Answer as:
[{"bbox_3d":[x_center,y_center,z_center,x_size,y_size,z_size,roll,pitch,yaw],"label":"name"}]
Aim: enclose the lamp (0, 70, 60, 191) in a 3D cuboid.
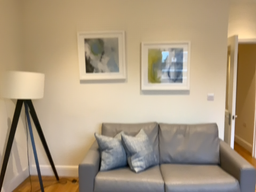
[{"bbox_3d":[-1.260,0.460,2.710,0.480,1.560,0.690,0,6,4],"label":"lamp"}]
